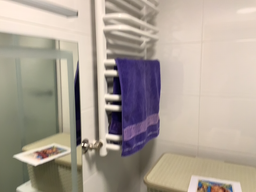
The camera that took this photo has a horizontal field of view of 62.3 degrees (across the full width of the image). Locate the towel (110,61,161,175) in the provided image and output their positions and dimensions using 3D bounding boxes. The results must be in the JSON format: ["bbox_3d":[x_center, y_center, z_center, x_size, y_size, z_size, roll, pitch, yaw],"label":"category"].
[{"bbox_3d":[0.060,0.060,1.030,0.080,0.450,0.450,4,9,23],"label":"towel"}]
